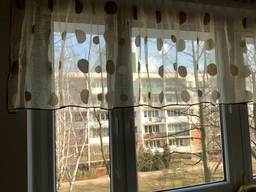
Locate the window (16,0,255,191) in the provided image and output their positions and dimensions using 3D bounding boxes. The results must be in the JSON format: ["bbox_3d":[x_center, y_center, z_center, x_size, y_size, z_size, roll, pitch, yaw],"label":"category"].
[{"bbox_3d":[0.900,0.030,1.710,3.200,1.600,0.210,-1,-4,-17],"label":"window"}]
